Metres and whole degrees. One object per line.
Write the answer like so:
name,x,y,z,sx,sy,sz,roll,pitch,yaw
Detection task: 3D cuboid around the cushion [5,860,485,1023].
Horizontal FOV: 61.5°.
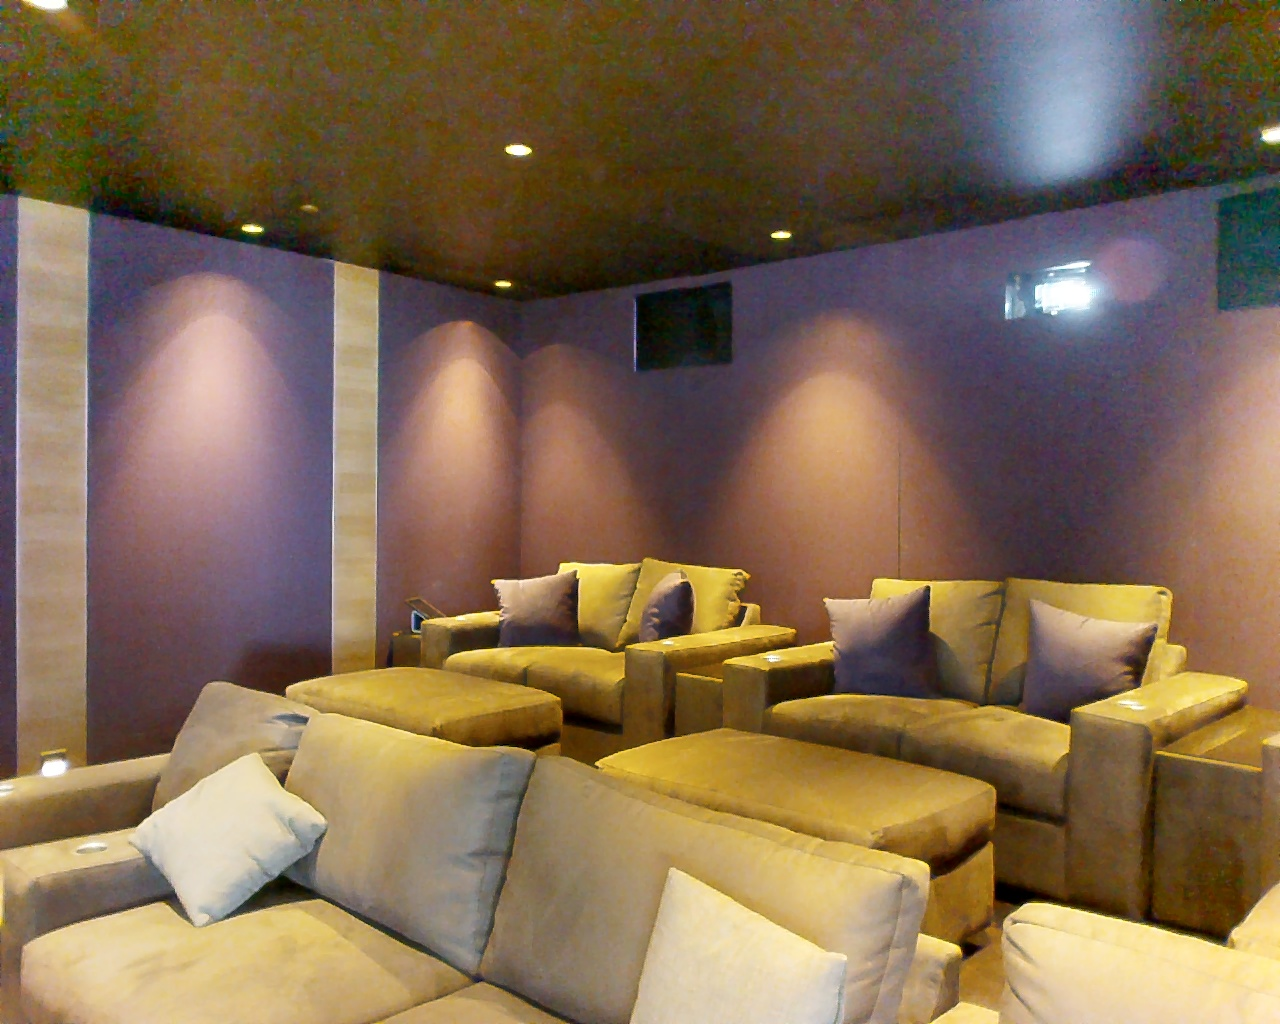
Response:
cushion,-0.900,1.080,2.390,0.980,0.240,0.620,1,1,42

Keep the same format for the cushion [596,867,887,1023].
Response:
cushion,0.150,0.820,1.730,0.210,0.340,0.440,0,1,-42
